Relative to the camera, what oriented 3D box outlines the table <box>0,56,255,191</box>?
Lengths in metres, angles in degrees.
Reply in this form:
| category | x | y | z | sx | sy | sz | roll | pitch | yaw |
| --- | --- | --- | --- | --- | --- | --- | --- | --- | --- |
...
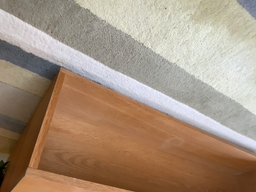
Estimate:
| category | x | y | z | sx | sy | sz | roll | pitch | yaw |
| --- | --- | --- | --- | --- | --- | --- | --- | --- | --- |
| table | 0.040 | 0.410 | 0.970 | 1.080 | 0.350 | 0.750 | 24 | 136 | -25 |
